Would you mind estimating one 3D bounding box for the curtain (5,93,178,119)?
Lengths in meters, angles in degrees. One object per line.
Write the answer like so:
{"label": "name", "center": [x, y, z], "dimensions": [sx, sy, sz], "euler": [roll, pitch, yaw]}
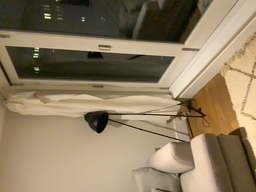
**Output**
{"label": "curtain", "center": [-0.370, 0.130, 2.620], "dimensions": [0.280, 1.980, 0.200], "euler": [116, 152, -60]}
